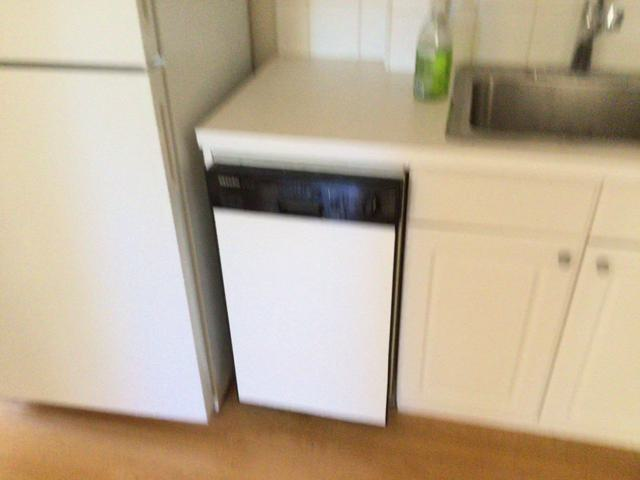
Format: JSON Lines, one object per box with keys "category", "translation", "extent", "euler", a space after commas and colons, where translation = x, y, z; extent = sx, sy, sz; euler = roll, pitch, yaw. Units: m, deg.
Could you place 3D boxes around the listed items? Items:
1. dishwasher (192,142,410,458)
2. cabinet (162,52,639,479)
{"category": "dishwasher", "translation": [-0.020, 0.180, 1.510], "extent": [0.470, 0.840, 0.150], "euler": [5, 31, 15]}
{"category": "cabinet", "translation": [0.410, 0.050, 1.600], "extent": [1.340, 0.970, 0.640], "euler": [5, 31, 15]}
